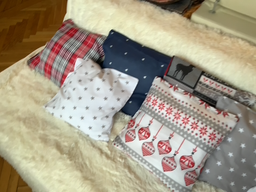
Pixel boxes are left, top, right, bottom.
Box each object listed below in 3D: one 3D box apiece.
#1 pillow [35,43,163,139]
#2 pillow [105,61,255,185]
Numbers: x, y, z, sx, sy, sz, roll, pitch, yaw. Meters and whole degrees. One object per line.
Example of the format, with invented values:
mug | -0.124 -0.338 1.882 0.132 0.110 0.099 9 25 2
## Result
pillow | -0.130 -0.040 1.080 0.170 0.550 0.410 -55 143 -43
pillow | 0.240 0.110 0.920 0.200 0.530 0.430 -53 133 -42
